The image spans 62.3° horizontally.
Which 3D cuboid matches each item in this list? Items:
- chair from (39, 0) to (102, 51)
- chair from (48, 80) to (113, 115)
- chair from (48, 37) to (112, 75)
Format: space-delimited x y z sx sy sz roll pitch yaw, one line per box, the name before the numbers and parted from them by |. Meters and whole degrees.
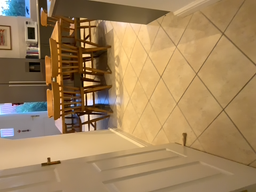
chair | -0.900 -1.070 3.310 0.440 0.860 0.580 170 96 -66
chair | -0.700 0.030 3.070 0.560 0.800 0.410 166 100 -66
chair | -0.700 -0.540 3.020 0.530 0.790 0.380 166 100 -66
